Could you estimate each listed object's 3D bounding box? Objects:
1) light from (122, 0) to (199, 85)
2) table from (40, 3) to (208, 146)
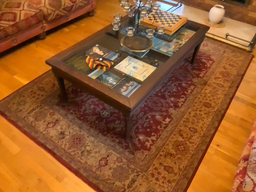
[{"bbox_3d":[0.310,-0.680,2.170,0.500,0.890,0.510,29,50,22],"label":"light"},{"bbox_3d":[0.050,-0.340,2.030,0.830,0.460,1.370,29,50,22],"label":"table"}]
